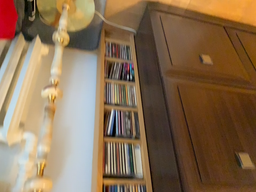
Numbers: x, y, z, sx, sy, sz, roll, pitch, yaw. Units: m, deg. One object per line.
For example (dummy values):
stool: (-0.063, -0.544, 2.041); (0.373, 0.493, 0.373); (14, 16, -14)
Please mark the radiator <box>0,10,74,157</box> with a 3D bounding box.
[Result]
radiator: (-0.680, -0.120, 0.980); (0.740, 0.690, 0.190); (11, 141, -18)
